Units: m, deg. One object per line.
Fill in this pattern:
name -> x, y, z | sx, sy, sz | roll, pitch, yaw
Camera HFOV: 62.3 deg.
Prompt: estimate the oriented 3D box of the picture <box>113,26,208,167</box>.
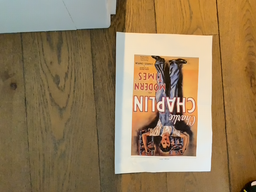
picture -> 0.070, 0.000, 0.450 | 0.200, 0.010, 0.290 | -1, 89, -5
